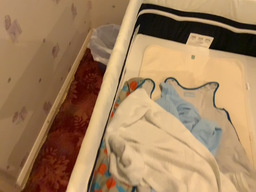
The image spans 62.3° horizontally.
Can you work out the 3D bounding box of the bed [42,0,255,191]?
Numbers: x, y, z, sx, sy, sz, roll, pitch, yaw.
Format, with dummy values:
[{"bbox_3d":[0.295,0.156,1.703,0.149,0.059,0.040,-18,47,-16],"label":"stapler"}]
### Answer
[{"bbox_3d":[0.250,0.130,0.900,0.750,0.730,1.090,12,56,2],"label":"bed"}]
